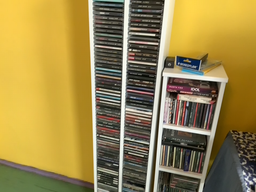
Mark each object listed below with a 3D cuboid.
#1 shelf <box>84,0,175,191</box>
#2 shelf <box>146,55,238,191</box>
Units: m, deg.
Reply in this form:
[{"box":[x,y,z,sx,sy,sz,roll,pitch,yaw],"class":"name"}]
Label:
[{"box":[-0.010,0.150,1.110,0.320,1.320,0.240,9,25,13],"class":"shelf"},{"box":[0.270,0.330,1.110,0.280,1.020,0.230,9,25,13],"class":"shelf"}]
